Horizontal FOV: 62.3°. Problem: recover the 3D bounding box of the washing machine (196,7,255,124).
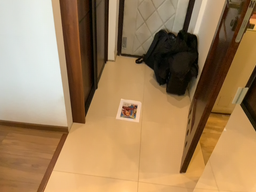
[{"bbox_3d":[1.070,-0.260,1.960,0.550,0.900,0.470,8,37,1],"label":"washing machine"}]
